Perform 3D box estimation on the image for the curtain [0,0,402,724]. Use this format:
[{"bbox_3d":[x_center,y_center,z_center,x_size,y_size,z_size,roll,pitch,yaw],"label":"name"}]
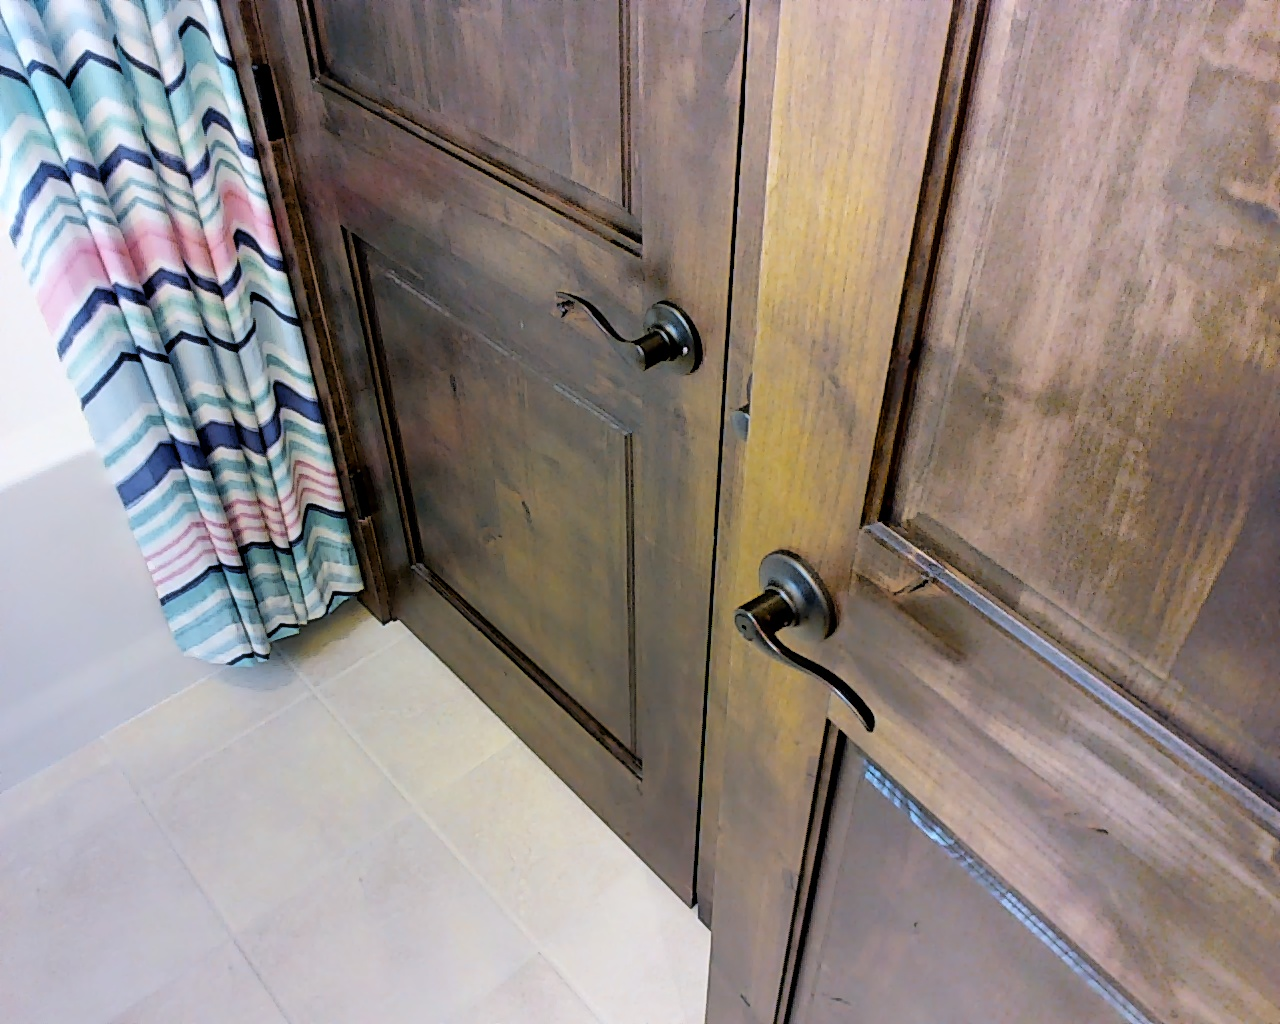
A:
[{"bbox_3d":[-0.620,-0.510,1.180,0.350,1.900,0.220,-31,50,-30],"label":"curtain"}]
